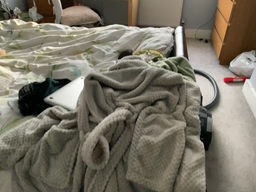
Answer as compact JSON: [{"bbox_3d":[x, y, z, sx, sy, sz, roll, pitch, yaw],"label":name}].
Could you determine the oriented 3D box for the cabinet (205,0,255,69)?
[{"bbox_3d":[1.420,-0.990,2.650,0.550,0.990,0.840,6,35,7],"label":"cabinet"}]

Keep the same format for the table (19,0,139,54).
[{"bbox_3d":[-0.630,-1.160,3.080,1.480,0.740,0.710,6,35,7],"label":"table"}]

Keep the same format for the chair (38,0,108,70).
[{"bbox_3d":[-0.670,-0.940,2.540,0.660,1.010,0.570,-13,37,-20],"label":"chair"}]
